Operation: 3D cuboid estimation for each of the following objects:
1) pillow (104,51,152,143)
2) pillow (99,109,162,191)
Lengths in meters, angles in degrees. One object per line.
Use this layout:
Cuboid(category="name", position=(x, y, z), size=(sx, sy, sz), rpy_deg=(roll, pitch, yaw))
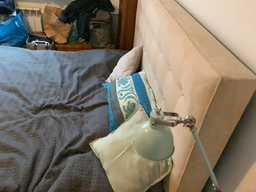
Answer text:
Cuboid(category="pillow", position=(-0.020, 0.000, 1.480), size=(0.280, 0.190, 0.610), rpy_deg=(0, 65, -8))
Cuboid(category="pillow", position=(-0.010, 0.290, 1.180), size=(0.160, 0.310, 0.370), rpy_deg=(-25, 85, -11))
